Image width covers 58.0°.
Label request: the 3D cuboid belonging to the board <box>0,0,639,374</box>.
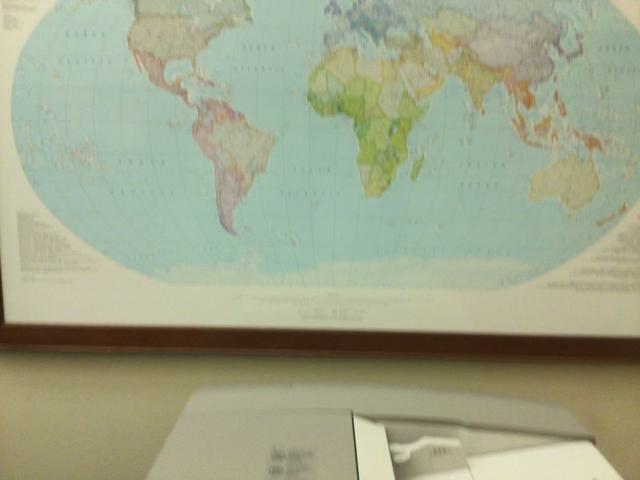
[{"bbox_3d":[0.050,-0.220,1.190,1.520,0.960,0.070,3,10,0],"label":"board"}]
